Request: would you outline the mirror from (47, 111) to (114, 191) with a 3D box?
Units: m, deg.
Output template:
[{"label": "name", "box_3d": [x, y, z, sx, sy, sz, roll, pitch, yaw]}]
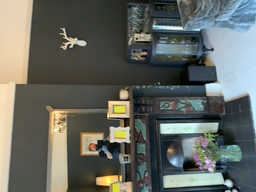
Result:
[{"label": "mirror", "box_3d": [-0.520, 0.680, 2.400, 0.070, 0.710, 1.000, 127, 142, -76]}]
